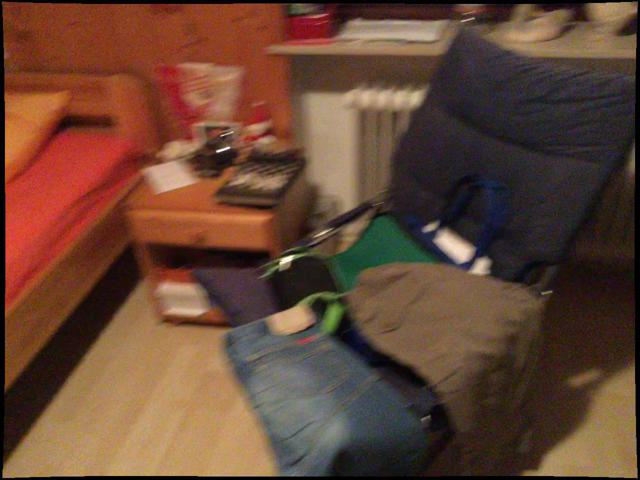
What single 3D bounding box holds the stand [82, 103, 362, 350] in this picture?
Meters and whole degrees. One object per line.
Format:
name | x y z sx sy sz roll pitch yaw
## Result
stand | -0.260 -0.080 1.980 0.689 0.540 0.610 5 37 13
